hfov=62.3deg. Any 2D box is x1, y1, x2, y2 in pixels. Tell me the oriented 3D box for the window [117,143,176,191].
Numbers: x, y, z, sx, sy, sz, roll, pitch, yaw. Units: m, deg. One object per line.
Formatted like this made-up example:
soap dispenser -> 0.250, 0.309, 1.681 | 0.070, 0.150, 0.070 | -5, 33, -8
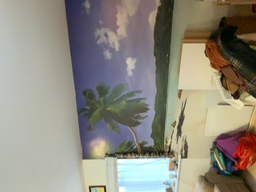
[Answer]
window -> 0.270, 1.580, 3.640 | 0.380, 0.890, 1.540 | -95, 4, -67
